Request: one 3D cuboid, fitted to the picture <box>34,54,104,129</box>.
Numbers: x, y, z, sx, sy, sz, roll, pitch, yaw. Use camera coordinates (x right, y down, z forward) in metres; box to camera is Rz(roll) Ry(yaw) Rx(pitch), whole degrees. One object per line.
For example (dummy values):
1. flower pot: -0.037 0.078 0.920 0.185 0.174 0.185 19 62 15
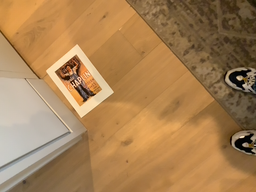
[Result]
1. picture: -0.290 -0.020 1.040 0.210 0.020 0.300 -37 88 8
